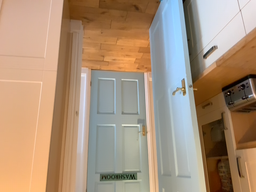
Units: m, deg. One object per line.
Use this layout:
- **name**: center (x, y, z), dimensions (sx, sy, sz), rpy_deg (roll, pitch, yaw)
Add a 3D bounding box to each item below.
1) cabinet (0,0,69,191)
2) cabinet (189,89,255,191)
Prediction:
- **cabinet**: center (-0.750, 0.110, 1.510), dimensions (0.500, 2.120, 0.580), rpy_deg (2, 162, -11)
- **cabinet**: center (0.830, 0.600, 1.750), dimensions (0.300, 1.210, 0.500), rpy_deg (2, 162, -11)
